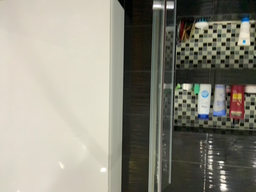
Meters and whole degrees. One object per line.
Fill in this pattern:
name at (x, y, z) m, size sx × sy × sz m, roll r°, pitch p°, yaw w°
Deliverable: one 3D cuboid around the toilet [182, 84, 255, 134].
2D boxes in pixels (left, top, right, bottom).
toilet at (0.680, 0.070, 1.160) m, size 0.730 × 0.250 × 0.100 m, roll 2°, pitch -175°, yaw 7°
